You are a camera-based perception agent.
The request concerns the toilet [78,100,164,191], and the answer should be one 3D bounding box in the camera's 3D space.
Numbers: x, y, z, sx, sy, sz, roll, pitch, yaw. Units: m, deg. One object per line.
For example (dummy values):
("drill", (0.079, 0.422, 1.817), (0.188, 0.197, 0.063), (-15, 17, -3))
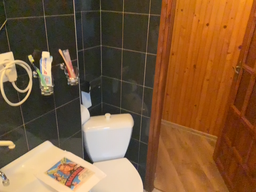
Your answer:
("toilet", (-0.110, 0.550, 1.560), (0.430, 0.830, 0.620), (-4, 26, -15))
